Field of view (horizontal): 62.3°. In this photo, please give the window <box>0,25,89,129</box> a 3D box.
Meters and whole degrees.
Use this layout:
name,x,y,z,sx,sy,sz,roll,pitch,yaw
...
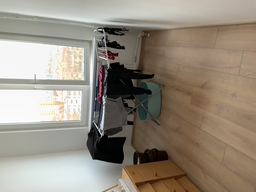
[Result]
name,x,y,z,sx,sy,sz,roll,pitch,yaw
window,-1.470,-0.240,3.230,0.120,1.650,1.500,-147,59,-63
